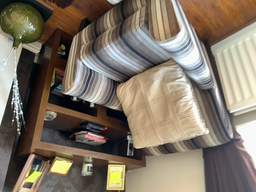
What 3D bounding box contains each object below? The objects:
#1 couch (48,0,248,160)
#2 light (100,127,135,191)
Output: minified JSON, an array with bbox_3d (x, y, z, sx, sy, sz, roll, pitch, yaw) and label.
[{"bbox_3d":[0.150,-0.130,1.380,0.770,0.830,0.860,-21,146,33],"label":"couch"},{"bbox_3d":[-0.070,0.850,1.610,0.230,1.160,0.360,-3,152,3],"label":"light"}]
